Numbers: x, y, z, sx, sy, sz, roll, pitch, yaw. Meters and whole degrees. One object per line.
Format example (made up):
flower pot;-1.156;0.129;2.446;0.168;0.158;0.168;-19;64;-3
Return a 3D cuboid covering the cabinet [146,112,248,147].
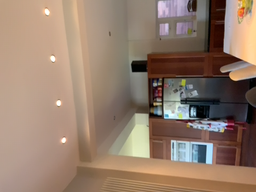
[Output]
cabinet;1.530;0.750;4.990;0.650;2.120;0.450;-43;-47;-71

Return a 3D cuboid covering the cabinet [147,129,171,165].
cabinet;0.780;1.250;5.320;0.620;0.530;0.640;-43;-47;-71
